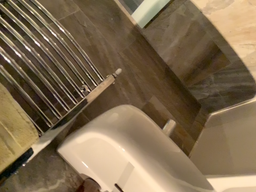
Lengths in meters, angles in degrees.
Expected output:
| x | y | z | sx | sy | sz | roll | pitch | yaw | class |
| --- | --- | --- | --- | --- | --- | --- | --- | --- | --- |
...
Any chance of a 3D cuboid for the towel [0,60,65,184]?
| x | y | z | sx | sy | sz | roll | pitch | yaw | class |
| --- | --- | --- | --- | --- | --- | --- | --- | --- | --- |
| -0.470 | 0.160 | 0.580 | 0.280 | 0.500 | 0.140 | 47 | 142 | -6 | towel |
